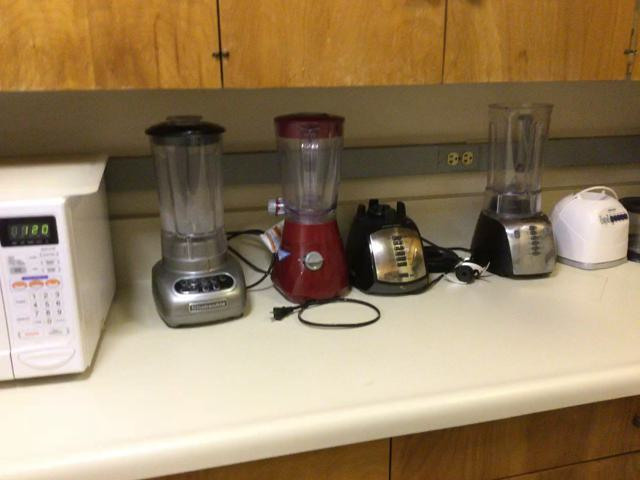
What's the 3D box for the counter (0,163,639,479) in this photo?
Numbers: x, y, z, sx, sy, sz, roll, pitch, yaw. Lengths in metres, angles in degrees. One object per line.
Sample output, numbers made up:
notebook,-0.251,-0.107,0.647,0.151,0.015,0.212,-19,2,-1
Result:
counter,0.390,0.080,1.190,2.720,0.320,0.690,-4,17,-14
